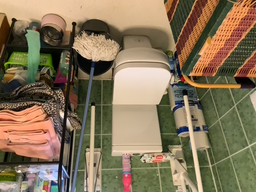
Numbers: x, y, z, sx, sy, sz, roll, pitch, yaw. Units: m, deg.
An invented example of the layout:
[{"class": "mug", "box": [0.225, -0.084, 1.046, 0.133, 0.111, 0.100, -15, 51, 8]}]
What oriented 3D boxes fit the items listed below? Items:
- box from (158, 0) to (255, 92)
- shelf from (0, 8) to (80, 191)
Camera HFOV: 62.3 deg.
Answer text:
[{"class": "box", "box": [0.460, -0.450, 0.980, 0.440, 0.660, 0.570, 1, 149, -7]}, {"class": "shelf", "box": [-0.560, 0.320, 1.180, 0.420, 1.650, 0.590, 1, 149, -7]}]
